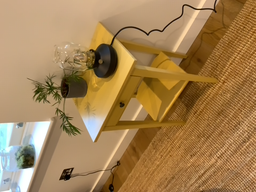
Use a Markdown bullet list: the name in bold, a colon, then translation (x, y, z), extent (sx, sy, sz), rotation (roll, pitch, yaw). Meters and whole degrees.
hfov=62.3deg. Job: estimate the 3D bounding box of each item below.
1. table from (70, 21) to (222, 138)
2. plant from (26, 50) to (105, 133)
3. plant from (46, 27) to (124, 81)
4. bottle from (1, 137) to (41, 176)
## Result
- **table**: translation (0.110, -0.070, 1.230), extent (0.340, 0.700, 0.440), rotation (52, 126, 38)
- **plant**: translation (-0.310, -0.020, 1.010), extent (0.250, 0.240, 0.270), rotation (52, 126, 38)
- **plant**: translation (-0.170, -0.160, 0.850), extent (0.130, 0.250, 0.130), rotation (52, 126, 38)
- **bottle**: translation (-0.740, 0.410, 1.460), extent (0.160, 0.200, 0.160), rotation (52, 126, 38)
